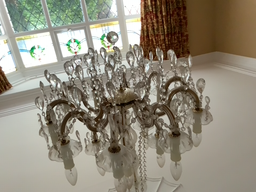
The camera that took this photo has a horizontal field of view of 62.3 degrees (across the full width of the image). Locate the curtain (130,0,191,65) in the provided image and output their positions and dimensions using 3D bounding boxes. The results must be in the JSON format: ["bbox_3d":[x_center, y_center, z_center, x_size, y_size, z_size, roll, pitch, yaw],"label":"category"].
[{"bbox_3d":[0.360,-1.790,2.810,0.370,0.770,2.650,-91,173,-67],"label":"curtain"}]

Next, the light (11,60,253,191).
[{"bbox_3d":[0.010,0.310,0.900,0.670,0.630,0.750,10,-62,57],"label":"light"}]
